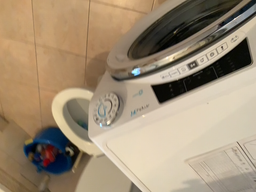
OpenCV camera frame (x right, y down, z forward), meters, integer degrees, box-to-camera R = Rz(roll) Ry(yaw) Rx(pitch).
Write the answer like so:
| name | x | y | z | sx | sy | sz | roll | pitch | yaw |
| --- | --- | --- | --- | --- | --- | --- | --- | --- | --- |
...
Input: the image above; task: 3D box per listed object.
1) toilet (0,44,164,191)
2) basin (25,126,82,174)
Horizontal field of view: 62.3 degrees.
| name | x | y | z | sx | sy | sz | roll | pitch | yaw |
| --- | --- | --- | --- | --- | --- | --- | --- | --- | --- |
| toilet | -0.140 | 0.210 | 1.140 | 0.390 | 0.810 | 0.590 | -27 | 115 | 26 |
| basin | -0.620 | 0.460 | 1.790 | 0.320 | 0.200 | 0.270 | -25 | 116 | 25 |
